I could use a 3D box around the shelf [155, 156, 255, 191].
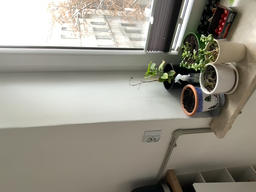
[{"bbox_3d":[0.650,0.710,1.550,0.150,0.910,0.620,-108,22,-48],"label":"shelf"}]
